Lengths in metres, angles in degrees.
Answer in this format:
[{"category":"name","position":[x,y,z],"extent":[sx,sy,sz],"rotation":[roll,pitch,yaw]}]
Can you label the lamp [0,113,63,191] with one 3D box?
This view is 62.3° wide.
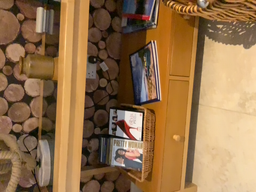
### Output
[{"category":"lamp","position":[-0.610,0.280,0.780],"extent":[0.390,0.610,0.370],"rotation":[9,96,58]}]
